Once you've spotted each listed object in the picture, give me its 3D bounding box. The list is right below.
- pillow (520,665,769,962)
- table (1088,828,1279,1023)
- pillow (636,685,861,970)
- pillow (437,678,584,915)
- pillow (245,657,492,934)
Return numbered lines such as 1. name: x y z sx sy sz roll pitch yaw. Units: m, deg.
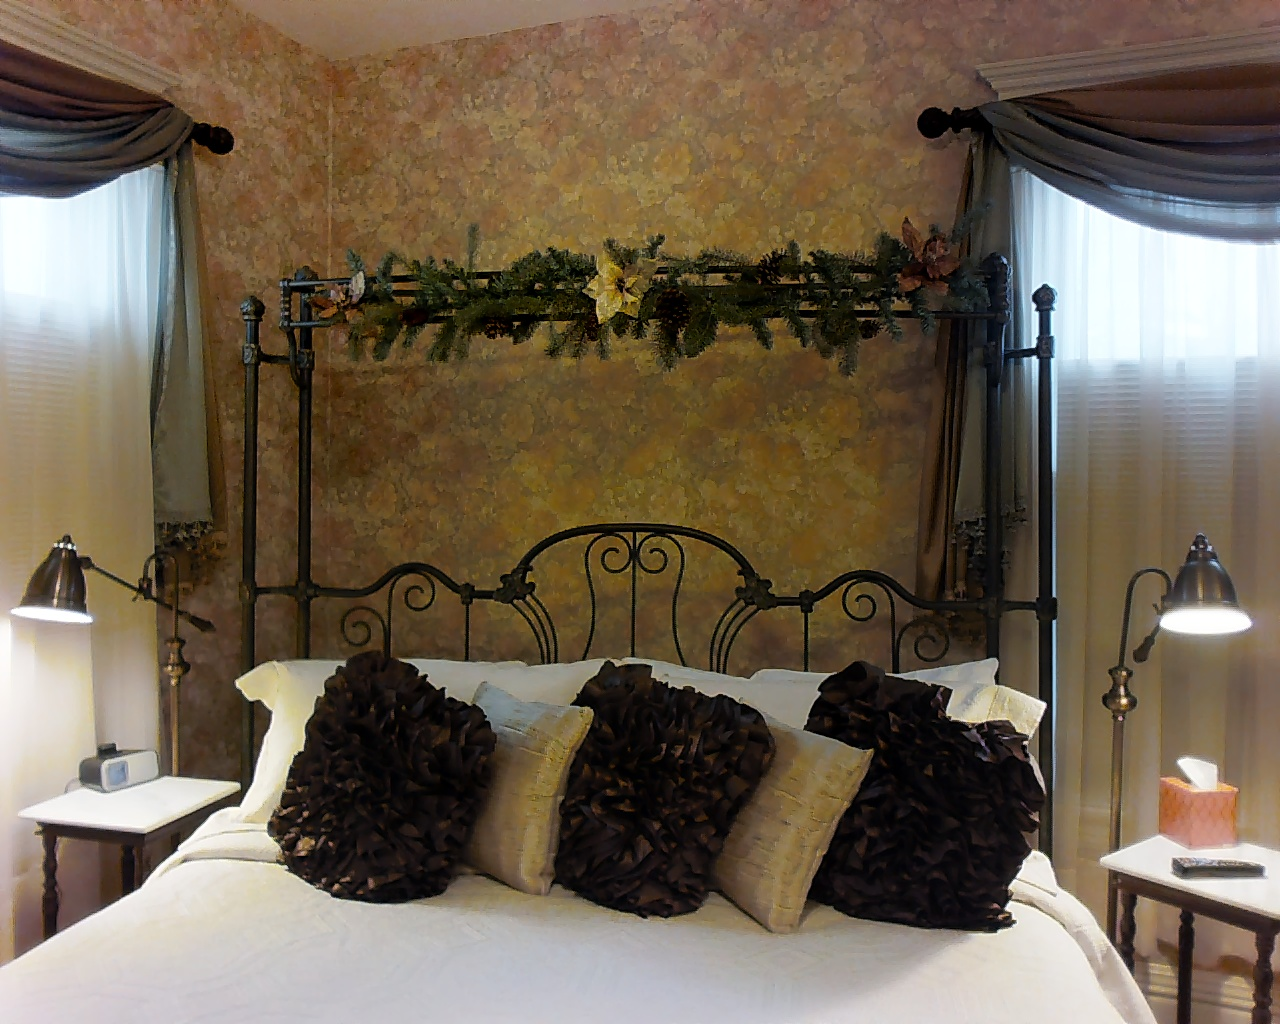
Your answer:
1. pillow: 0.000 0.610 2.280 0.200 0.420 0.510 -18 18 -38
2. table: 1.210 1.110 2.250 0.370 0.750 0.370 0 0 -37
3. pillow: 0.210 0.620 2.220 0.250 0.380 0.460 -7 9 -23
4. pillow: -0.290 0.590 2.330 0.200 0.390 0.420 0 0 -24
5. pillow: -0.600 0.570 2.320 0.290 0.430 0.580 0 0 -40
